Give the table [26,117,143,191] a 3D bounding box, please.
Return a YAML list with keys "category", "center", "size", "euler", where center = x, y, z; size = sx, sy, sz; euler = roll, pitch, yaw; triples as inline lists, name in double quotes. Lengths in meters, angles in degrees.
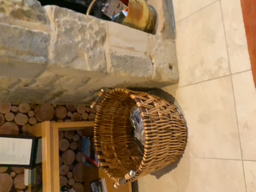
- category: "table"
  center: [-0.330, 0.810, 1.660]
  size: [0.490, 0.760, 1.220]
  euler: [-19, 73, 49]
